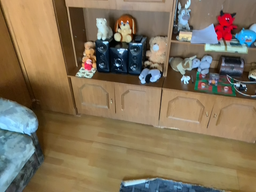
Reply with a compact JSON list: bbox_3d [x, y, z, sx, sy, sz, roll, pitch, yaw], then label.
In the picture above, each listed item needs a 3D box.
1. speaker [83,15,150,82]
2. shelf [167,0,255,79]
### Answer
[{"bbox_3d":[-0.090,-0.450,2.000,0.540,0.520,0.250,7,36,10],"label":"speaker"},{"bbox_3d":[0.850,-0.690,1.780,0.910,1.070,0.170,8,36,12],"label":"shelf"}]
